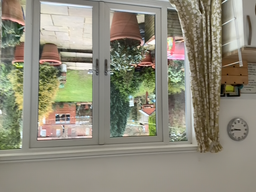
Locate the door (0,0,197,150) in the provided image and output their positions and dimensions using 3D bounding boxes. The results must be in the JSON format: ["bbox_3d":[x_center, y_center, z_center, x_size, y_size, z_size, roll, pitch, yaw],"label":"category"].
[{"bbox_3d":[-0.360,-0.380,2.900,2.710,2.070,0.170,1,176,-12],"label":"door"}]

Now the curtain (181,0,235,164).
[{"bbox_3d":[1.010,-0.310,2.730,0.540,2.230,0.290,1,176,-14],"label":"curtain"}]
